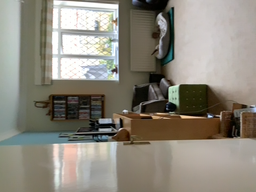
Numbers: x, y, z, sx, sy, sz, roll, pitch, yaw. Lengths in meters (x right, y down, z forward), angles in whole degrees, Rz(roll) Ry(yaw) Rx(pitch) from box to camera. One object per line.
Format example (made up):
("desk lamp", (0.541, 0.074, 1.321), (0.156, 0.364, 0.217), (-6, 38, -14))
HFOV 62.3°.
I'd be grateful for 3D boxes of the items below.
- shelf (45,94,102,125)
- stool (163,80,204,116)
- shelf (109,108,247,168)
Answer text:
("shelf", (-1.020, 0.250, 4.040), (0.160, 1.020, 0.570), (176, 94, -80))
("stool", (0.700, 0.030, 2.740), (0.400, 0.380, 0.420), (173, 97, -80))
("shelf", (0.380, 0.380, 2.570), (1.600, 1.080, 0.410), (173, 97, -80))
